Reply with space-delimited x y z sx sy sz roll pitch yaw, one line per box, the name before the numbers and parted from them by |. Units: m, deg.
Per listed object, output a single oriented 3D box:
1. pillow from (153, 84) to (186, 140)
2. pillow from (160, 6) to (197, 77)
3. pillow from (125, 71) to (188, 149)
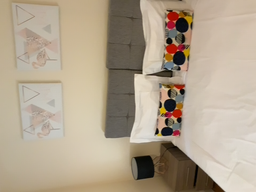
pillow | 0.430 0.170 2.230 0.100 0.270 0.570 -80 -6 -78
pillow | 0.470 -0.520 2.050 0.180 0.250 0.620 -71 -14 -74
pillow | 0.300 0.150 2.360 0.230 0.580 0.780 -63 -22 -73
